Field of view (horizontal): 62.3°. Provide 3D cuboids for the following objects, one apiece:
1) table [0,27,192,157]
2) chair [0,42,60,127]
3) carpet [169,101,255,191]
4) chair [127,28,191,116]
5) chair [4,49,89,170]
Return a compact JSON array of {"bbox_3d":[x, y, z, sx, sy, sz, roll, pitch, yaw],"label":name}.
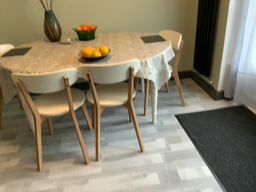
[{"bbox_3d":[-0.390,-0.180,2.290,1.660,0.770,1.240,-6,28,-6],"label":"table"},{"bbox_3d":[-1.140,-0.130,2.260,0.530,0.780,0.440,1,28,7],"label":"chair"},{"bbox_3d":[0.960,0.400,1.820,0.870,0.040,1.210,-6,28,-5],"label":"carpet"},{"bbox_3d":[0.320,-0.280,2.370,0.520,0.800,0.440,-11,29,-15],"label":"chair"},{"bbox_3d":[-0.590,0.090,1.770,0.420,0.790,0.550,-7,28,-7],"label":"chair"}]
